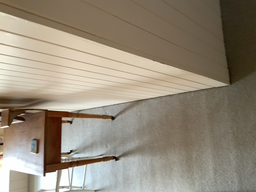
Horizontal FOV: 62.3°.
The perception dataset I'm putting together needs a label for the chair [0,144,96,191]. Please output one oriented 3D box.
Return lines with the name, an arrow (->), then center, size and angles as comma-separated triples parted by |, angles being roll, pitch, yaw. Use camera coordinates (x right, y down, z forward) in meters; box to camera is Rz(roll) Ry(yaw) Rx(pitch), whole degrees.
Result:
chair -> -0.750, 0.740, 2.060 | 0.390, 0.760, 0.470 | -14, 76, 42
